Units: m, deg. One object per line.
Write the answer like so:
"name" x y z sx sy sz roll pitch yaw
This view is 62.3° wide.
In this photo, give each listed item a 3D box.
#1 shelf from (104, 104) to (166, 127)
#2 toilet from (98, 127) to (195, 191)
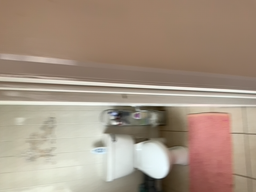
"shelf" 0.090 0.240 2.590 0.250 0.720 0.240 156 113 -62
"toilet" 0.160 0.620 2.340 0.720 0.790 0.510 164 106 -63
